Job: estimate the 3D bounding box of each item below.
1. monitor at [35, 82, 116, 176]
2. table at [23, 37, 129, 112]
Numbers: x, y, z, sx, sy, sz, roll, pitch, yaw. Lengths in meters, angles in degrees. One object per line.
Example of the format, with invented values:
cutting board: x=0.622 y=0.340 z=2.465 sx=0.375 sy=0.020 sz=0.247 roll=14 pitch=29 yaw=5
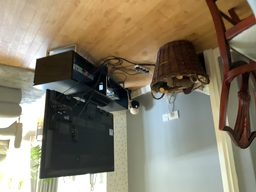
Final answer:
monitor: x=-0.440 y=0.390 z=2.190 sx=0.110 sy=0.740 sz=1.150 roll=-9 pitch=162 yaw=21
table: x=-0.470 y=-0.140 z=2.360 sx=0.520 sy=0.370 sz=1.150 roll=-10 pitch=161 yaw=24
